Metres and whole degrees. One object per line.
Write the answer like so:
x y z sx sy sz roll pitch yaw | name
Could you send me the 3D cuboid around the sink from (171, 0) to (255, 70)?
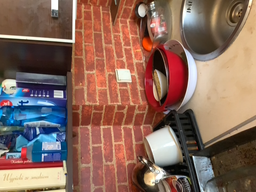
0.400 -0.350 0.850 0.410 0.220 0.430 -136 50 -66 | sink
